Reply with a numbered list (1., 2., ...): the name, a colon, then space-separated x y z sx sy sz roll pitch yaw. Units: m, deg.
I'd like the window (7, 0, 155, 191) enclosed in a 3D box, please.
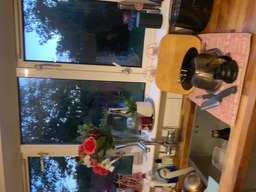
1. window: -0.350 0.080 1.620 0.030 0.950 1.800 -115 29 -71
